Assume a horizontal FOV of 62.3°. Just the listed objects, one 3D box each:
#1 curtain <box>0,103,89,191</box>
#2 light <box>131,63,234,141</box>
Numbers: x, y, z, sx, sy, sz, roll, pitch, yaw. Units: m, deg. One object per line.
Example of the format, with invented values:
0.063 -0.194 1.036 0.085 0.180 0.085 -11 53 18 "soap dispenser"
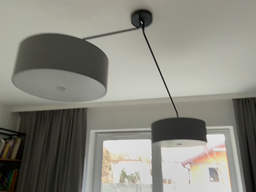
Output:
-1.190 1.460 2.630 0.160 1.260 2.740 51 37 -66 "curtain"
0.370 0.110 1.730 0.760 0.620 0.410 71 18 -70 "light"
